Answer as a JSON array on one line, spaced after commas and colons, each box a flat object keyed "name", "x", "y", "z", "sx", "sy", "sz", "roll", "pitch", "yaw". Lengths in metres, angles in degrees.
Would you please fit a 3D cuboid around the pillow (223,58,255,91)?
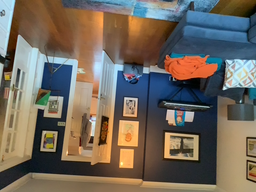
[{"name": "pillow", "x": 1.380, "y": -0.260, "z": 2.570, "sx": 0.340, "sy": 0.340, "sz": 0.150, "roll": 5, "pitch": 150, "yaw": -1}]

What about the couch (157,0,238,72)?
[{"name": "couch", "x": 0.750, "y": -0.670, "z": 2.570, "sx": 0.530, "sy": 0.470, "sz": 1.080, "roll": 6, "pitch": 172, "yaw": -5}]
